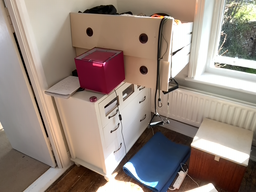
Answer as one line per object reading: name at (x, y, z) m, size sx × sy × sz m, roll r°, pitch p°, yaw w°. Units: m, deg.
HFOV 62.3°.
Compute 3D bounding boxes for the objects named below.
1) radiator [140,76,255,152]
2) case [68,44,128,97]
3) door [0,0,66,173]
radiator at (0.830, 0.190, 2.040) m, size 1.570 × 0.460 × 0.110 m, roll 16°, pitch 37°, yaw 28°
case at (-0.210, -0.200, 1.550) m, size 0.320 × 0.250 × 0.250 m, roll 16°, pitch 37°, yaw 28°
door at (-1.050, -0.070, 1.810) m, size 0.870 × 1.620 × 0.100 m, roll 14°, pitch 36°, yaw 25°
